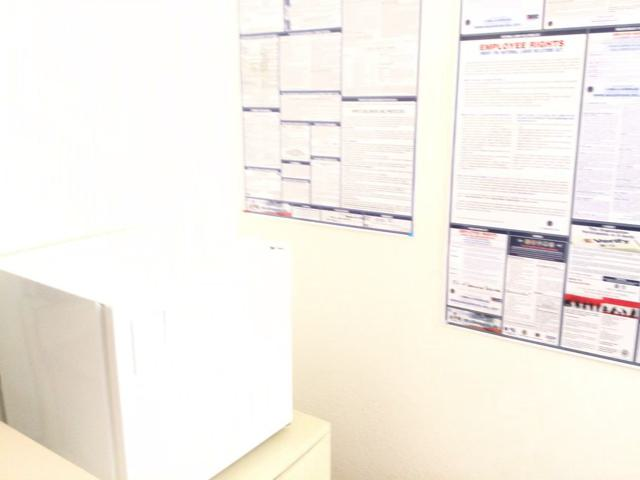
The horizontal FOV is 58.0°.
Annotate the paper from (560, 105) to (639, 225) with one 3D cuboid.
[{"bbox_3d":[0.610,-0.160,1.220,0.160,0.240,0.040,9,11,33],"label":"paper"}]

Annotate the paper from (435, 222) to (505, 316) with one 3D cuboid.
[{"bbox_3d":[0.370,0.070,1.440,0.150,0.210,0.030,9,11,33],"label":"paper"}]

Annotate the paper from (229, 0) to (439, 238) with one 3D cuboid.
[{"bbox_3d":[0.010,-0.360,1.620,0.600,0.630,0.100,9,11,33],"label":"paper"}]

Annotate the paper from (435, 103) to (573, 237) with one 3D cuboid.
[{"bbox_3d":[0.420,-0.170,1.350,0.280,0.290,0.040,9,11,33],"label":"paper"}]

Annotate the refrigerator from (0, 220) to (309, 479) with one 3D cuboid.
[{"bbox_3d":[-0.390,0.250,1.340,0.500,0.500,0.520,9,11,33],"label":"refrigerator"}]

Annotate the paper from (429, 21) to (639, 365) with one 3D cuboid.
[{"bbox_3d":[0.480,-0.110,1.320,0.400,0.700,0.090,9,11,33],"label":"paper"}]
